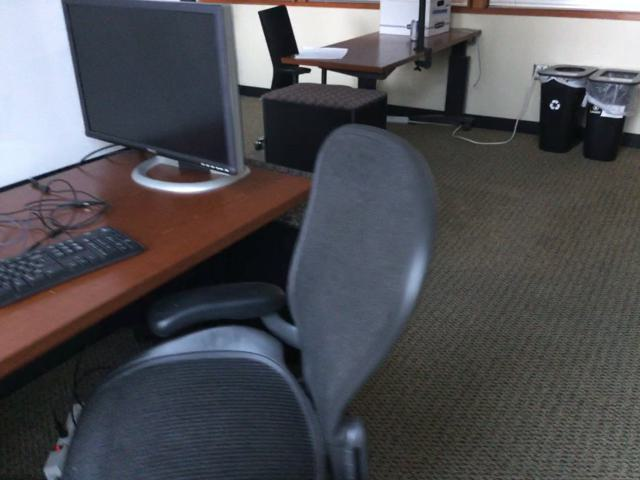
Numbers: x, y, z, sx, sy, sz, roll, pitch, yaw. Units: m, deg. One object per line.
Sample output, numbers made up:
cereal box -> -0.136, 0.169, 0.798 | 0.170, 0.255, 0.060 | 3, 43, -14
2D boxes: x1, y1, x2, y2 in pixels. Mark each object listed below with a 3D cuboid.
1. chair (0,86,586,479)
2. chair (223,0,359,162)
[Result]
chair -> -0.150, 0.350, 1.020 | 0.690, 1.010, 0.700 | -17, 31, -25
chair -> -0.130, -1.080, 3.660 | 0.700, 0.980, 0.680 | 2, 28, 8
